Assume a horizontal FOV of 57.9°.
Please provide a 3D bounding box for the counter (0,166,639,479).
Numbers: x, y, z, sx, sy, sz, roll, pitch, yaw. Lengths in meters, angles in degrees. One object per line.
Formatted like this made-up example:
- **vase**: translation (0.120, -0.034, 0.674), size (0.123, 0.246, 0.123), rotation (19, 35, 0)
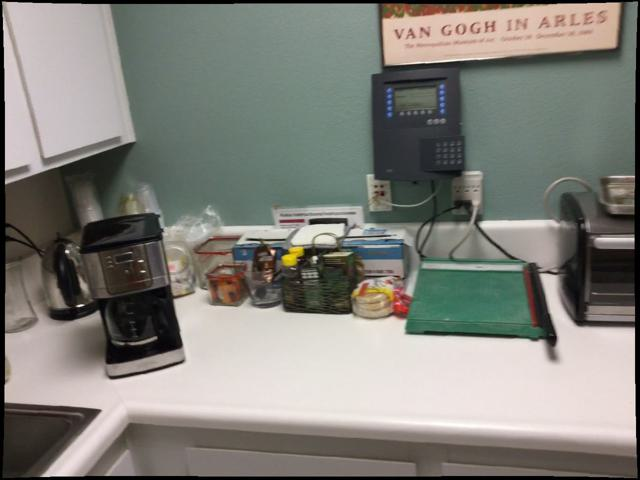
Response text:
- **counter**: translation (0.080, 0.440, 0.560), size (2.558, 0.450, 2.600), rotation (1, 20, 13)

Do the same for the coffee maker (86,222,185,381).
- **coffee maker**: translation (-0.420, 0.140, 1.350), size (0.160, 0.320, 0.140), rotation (-7, 19, -10)

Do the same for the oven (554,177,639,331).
- **oven**: translation (0.859, 0.020, 1.400), size (0.480, 0.270, 0.360), rotation (1, 20, 13)
